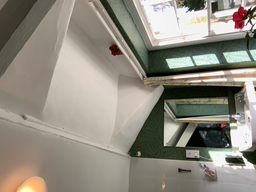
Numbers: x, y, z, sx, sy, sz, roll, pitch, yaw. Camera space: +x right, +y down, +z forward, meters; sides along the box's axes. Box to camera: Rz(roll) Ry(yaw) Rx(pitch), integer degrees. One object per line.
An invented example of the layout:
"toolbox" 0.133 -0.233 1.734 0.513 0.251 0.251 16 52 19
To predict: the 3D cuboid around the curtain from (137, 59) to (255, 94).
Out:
"curtain" 1.060 -0.220 2.300 0.270 1.950 0.190 43 -132 -59
